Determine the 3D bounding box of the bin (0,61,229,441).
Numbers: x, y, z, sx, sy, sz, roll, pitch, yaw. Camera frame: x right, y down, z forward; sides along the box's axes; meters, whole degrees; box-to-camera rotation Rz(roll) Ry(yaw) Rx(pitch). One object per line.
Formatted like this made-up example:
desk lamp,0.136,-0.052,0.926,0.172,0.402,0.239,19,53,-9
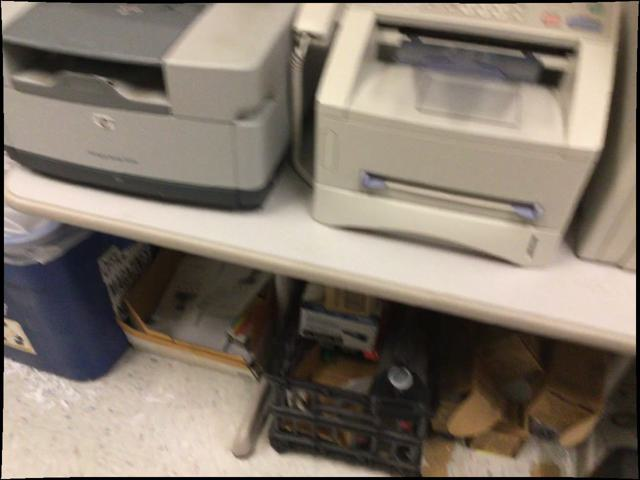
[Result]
bin,-0.668,-0.010,1.460,0.599,0.631,0.540,17,40,23
